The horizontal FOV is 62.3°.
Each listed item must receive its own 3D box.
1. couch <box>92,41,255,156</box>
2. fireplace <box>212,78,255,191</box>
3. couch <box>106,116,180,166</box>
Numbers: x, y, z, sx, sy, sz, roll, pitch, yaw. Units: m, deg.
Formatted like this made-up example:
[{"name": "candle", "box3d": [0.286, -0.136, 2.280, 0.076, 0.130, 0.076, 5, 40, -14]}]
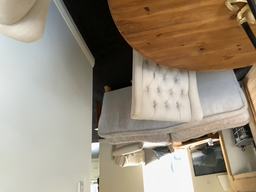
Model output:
[{"name": "couch", "box3d": [0.560, 0.190, 2.860, 1.760, 0.910, 1.040, -13, 154, 21]}, {"name": "fireplace", "box3d": [2.130, 0.790, 3.620, 0.620, 1.550, 1.800, -6, 156, 6]}, {"name": "couch", "box3d": [0.330, 1.140, 5.030, 1.280, 0.850, 1.100, 18, 148, -40]}]
